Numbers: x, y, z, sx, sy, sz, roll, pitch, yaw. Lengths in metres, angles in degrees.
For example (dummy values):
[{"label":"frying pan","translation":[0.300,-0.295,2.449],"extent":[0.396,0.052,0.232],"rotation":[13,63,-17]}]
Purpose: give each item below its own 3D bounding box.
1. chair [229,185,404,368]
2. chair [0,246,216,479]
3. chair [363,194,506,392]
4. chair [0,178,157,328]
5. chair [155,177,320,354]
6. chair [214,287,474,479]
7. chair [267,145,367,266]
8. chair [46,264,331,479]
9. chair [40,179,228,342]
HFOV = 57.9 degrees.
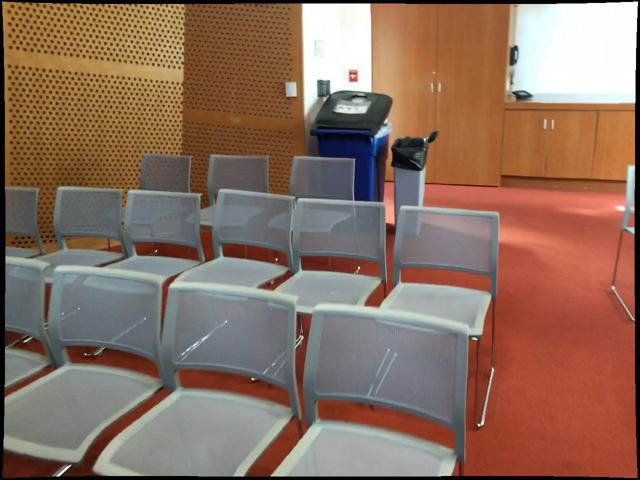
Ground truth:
[{"label":"chair","translation":[0.020,0.130,2.750],"extent":[0.619,0.671,0.580],"rotation":[3,17,22]},{"label":"chair","translation":[-0.799,0.450,1.950],"extent":[0.589,0.691,0.590],"rotation":[3,17,22]},{"label":"chair","translation":[0.529,0.190,2.560],"extent":[0.500,0.671,0.580],"rotation":[3,17,22]},{"label":"chair","translation":[-1.329,0.040,3.190],"extent":[0.530,0.671,0.530],"rotation":[3,17,22]},{"label":"chair","translation":[-0.380,0.090,2.930],"extent":[0.540,0.711,0.590],"rotation":[3,17,22]},{"label":"chair","translation":[0.120,0.581,1.590],"extent":[0.510,0.701,0.580],"rotation":[3,17,22]},{"label":"chair","translation":[0.000,-0.250,3.860],"extent":[0.490,0.701,0.460],"rotation":[3,17,22]},{"label":"chair","translation":[-0.340,0.490,1.760],"extent":[0.550,0.651,0.570],"rotation":[3,17,22]},{"label":"chair","translation":[-0.939,0.070,3.040],"extent":[0.629,0.671,0.580],"rotation":[3,17,22]}]
